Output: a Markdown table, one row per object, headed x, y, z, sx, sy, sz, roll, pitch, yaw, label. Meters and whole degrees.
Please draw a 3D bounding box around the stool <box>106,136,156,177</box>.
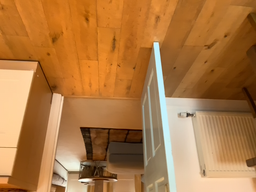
| x | y | z | sx | sy | sz | roll | pitch | yaw | label |
| --- | --- | --- | --- | --- | --- | --- | --- | --- | --- |
| 0.000 | 1.210 | 4.110 | 0.810 | 0.560 | 1.070 | 2 | 153 | -6 | stool |
